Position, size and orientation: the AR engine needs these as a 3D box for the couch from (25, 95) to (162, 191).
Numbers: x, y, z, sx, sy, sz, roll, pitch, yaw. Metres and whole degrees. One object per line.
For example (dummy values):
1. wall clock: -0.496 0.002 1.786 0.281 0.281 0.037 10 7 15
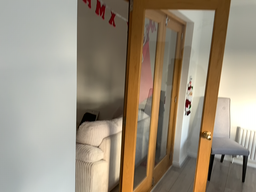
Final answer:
1. couch: -0.340 0.580 3.110 1.040 0.840 1.830 9 12 27

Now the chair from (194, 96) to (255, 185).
1. chair: 1.350 0.590 3.060 0.470 1.050 0.670 4 10 0

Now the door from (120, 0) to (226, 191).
1. door: 0.310 0.200 1.750 0.660 2.080 0.120 5 10 10
